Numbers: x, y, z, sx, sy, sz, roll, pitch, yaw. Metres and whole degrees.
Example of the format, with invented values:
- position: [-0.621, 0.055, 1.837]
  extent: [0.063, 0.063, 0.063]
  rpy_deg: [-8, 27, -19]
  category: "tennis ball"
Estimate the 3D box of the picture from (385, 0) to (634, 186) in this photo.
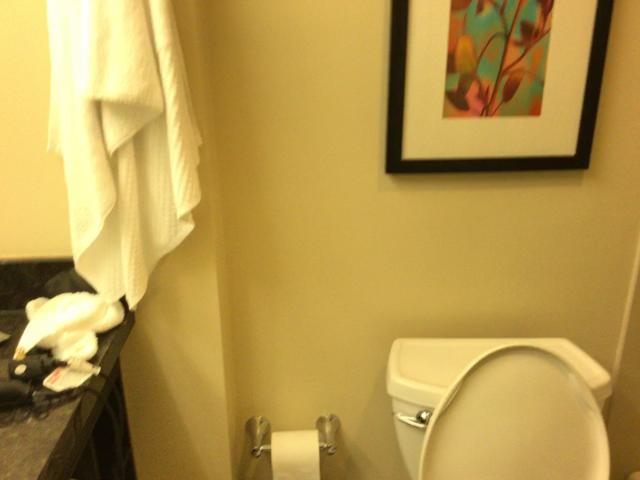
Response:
- position: [0.340, -0.370, 1.060]
  extent: [0.430, 0.530, 0.050]
  rpy_deg: [-2, 20, -1]
  category: "picture"
